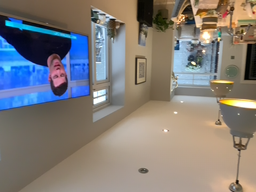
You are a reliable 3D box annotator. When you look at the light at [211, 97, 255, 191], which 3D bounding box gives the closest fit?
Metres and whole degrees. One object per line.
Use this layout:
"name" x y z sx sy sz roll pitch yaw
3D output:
"light" 0.770 0.390 1.590 0.240 0.390 0.700 0 100 17
